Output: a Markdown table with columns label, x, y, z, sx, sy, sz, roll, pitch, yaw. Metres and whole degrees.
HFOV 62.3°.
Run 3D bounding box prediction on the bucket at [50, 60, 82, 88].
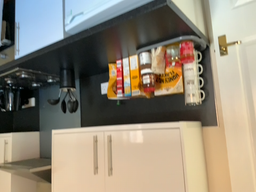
| label | x | y | z | sx | sy | sz | roll | pitch | yaw |
| --- | --- | --- | --- | --- | --- | --- | --- | --- | --- |
| bucket | -0.460 | -0.160 | 1.590 | 0.140 | 0.160 | 0.170 | -12 | 170 | 32 |
